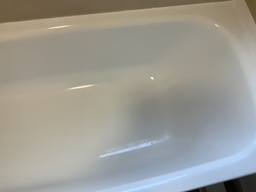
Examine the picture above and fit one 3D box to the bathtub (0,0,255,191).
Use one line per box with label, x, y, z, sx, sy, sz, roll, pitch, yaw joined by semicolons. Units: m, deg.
bathtub;-0.300;0.120;0.940;1.740;0.560;0.690;-9;73;-10
